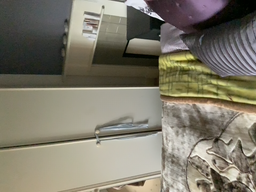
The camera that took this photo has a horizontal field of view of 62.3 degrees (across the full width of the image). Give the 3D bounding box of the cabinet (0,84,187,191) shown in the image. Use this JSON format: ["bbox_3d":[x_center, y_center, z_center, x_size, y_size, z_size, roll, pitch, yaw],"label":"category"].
[{"bbox_3d":[-0.500,1.020,2.190,0.610,2.180,2.270,-169,79,-64],"label":"cabinet"}]
